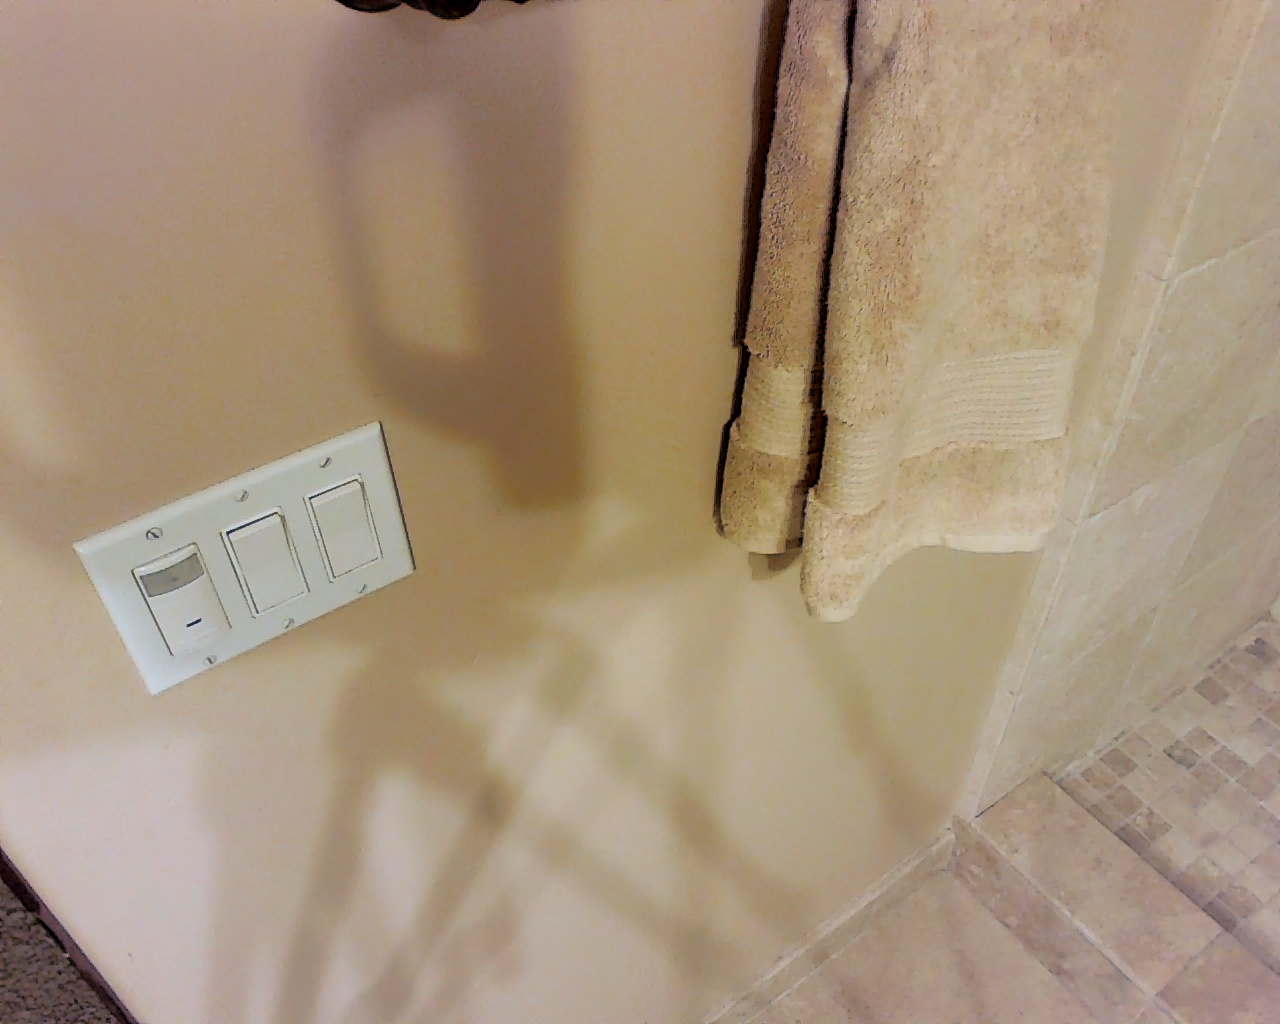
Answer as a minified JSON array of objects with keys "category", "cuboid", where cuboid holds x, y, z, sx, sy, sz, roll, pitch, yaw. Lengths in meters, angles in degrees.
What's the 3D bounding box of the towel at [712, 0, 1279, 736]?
[{"category":"towel","cuboid":[0.210,-0.140,0.690,0.260,0.550,0.170,-25,47,-24]}]
